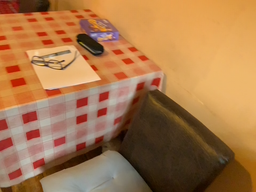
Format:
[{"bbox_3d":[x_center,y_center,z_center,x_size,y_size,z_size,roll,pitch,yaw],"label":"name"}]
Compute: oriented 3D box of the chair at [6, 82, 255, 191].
[{"bbox_3d":[-0.030,0.440,0.840,0.580,0.760,0.450,-18,48,-32],"label":"chair"}]
